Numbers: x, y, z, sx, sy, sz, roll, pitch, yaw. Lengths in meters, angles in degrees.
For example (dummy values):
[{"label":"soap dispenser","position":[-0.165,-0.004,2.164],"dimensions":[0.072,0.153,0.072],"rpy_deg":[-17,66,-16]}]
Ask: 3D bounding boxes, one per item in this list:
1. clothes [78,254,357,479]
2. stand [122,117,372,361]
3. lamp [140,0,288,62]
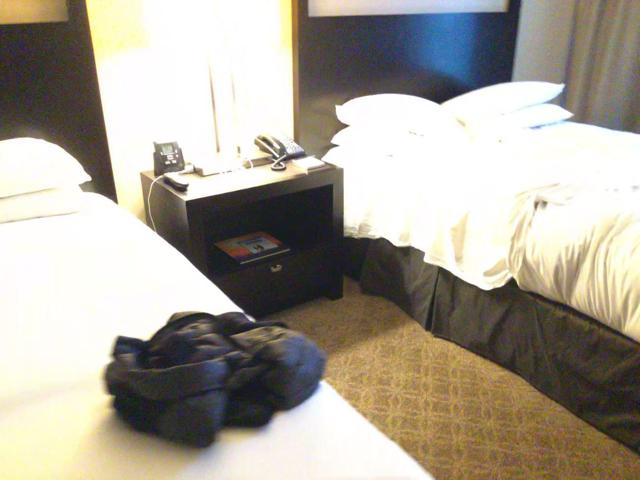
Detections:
[{"label":"clothes","position":[-0.200,0.210,1.100],"dimensions":[0.380,0.170,0.390],"rpy_deg":[-15,25,-31]},{"label":"stand","position":[-0.300,-0.070,2.610],"dimensions":[0.900,0.800,0.560],"rpy_deg":[-15,25,-31]},{"label":"lamp","position":[-0.430,-0.900,2.370],"dimensions":[0.490,0.280,0.330],"rpy_deg":[-15,25,-31]}]
